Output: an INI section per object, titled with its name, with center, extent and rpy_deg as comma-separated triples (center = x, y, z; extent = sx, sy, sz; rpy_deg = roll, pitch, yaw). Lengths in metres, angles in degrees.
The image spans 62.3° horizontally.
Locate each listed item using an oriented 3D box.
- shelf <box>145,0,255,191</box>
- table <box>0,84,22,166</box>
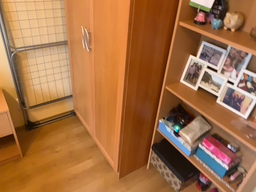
[shelf]
center = 0.490, -0.050, 1.050
extent = 0.260, 1.730, 0.630
rpy_deg = -17, 41, -30
[table]
center = -1.040, 0.240, 1.520
extent = 0.370, 0.480, 0.330
rpy_deg = -15, 40, -27
